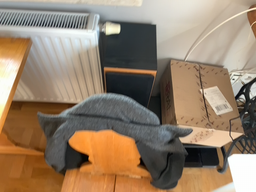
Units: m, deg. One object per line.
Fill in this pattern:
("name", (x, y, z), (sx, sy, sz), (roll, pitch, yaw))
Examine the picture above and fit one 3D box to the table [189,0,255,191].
("table", (0.830, 0.080, 1.010), (0.780, 0.790, 0.590), (2, 58, -2))
